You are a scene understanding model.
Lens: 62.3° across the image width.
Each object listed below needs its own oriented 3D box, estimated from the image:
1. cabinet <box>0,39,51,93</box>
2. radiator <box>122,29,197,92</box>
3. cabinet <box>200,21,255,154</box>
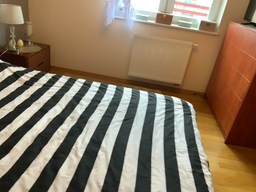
[{"bbox_3d":[-1.330,-0.410,2.730,0.430,0.440,0.620,11,26,1],"label":"cabinet"},{"bbox_3d":[0.410,-0.490,3.000,0.880,0.730,0.170,10,26,0],"label":"radiator"},{"bbox_3d":[1.340,-0.190,2.480,0.420,1.110,1.230,11,26,2],"label":"cabinet"}]
